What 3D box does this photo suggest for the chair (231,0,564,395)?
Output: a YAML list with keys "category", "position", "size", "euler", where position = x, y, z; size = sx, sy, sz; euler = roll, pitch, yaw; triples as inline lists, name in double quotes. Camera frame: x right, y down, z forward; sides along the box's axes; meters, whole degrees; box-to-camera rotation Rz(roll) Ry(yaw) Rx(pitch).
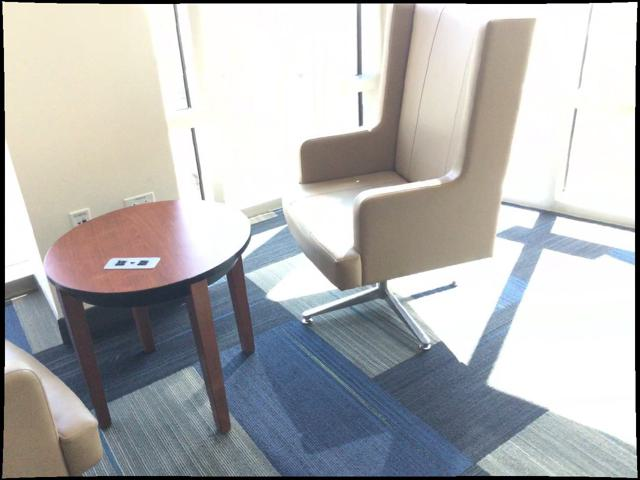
- category: "chair"
  position: [0.219, -0.231, 2.130]
  size: [0.818, 1.162, 0.780]
  euler: [-12, 29, -14]
